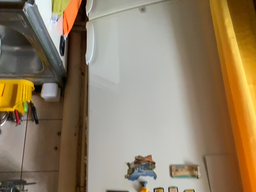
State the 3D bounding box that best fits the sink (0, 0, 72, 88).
[{"bbox_3d":[-0.500,-0.240,0.890,0.420,0.200,0.600,0,160,-6],"label":"sink"}]
